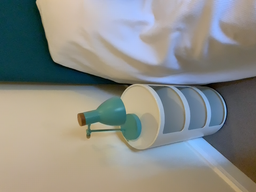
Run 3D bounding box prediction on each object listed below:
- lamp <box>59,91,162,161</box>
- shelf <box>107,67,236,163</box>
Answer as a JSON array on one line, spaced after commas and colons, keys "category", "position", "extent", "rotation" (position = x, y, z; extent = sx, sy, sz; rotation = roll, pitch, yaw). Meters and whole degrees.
[{"category": "lamp", "position": [-0.080, 0.120, 0.930], "extent": [0.250, 0.340, 0.170], "rotation": [-49, 55, 40]}, {"category": "shelf", "position": [0.250, 0.100, 1.240], "extent": [0.350, 0.570, 0.350], "rotation": [-48, 56, 40]}]
